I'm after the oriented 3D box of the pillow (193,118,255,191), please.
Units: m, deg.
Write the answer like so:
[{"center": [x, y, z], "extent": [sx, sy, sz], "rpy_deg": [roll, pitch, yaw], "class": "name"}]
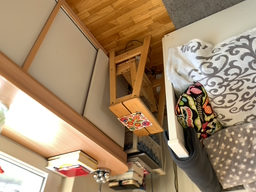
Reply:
[{"center": [0.730, 0.370, 1.310], "extent": [0.520, 0.280, 0.360], "rpy_deg": [-17, 136, 23], "class": "pillow"}]
